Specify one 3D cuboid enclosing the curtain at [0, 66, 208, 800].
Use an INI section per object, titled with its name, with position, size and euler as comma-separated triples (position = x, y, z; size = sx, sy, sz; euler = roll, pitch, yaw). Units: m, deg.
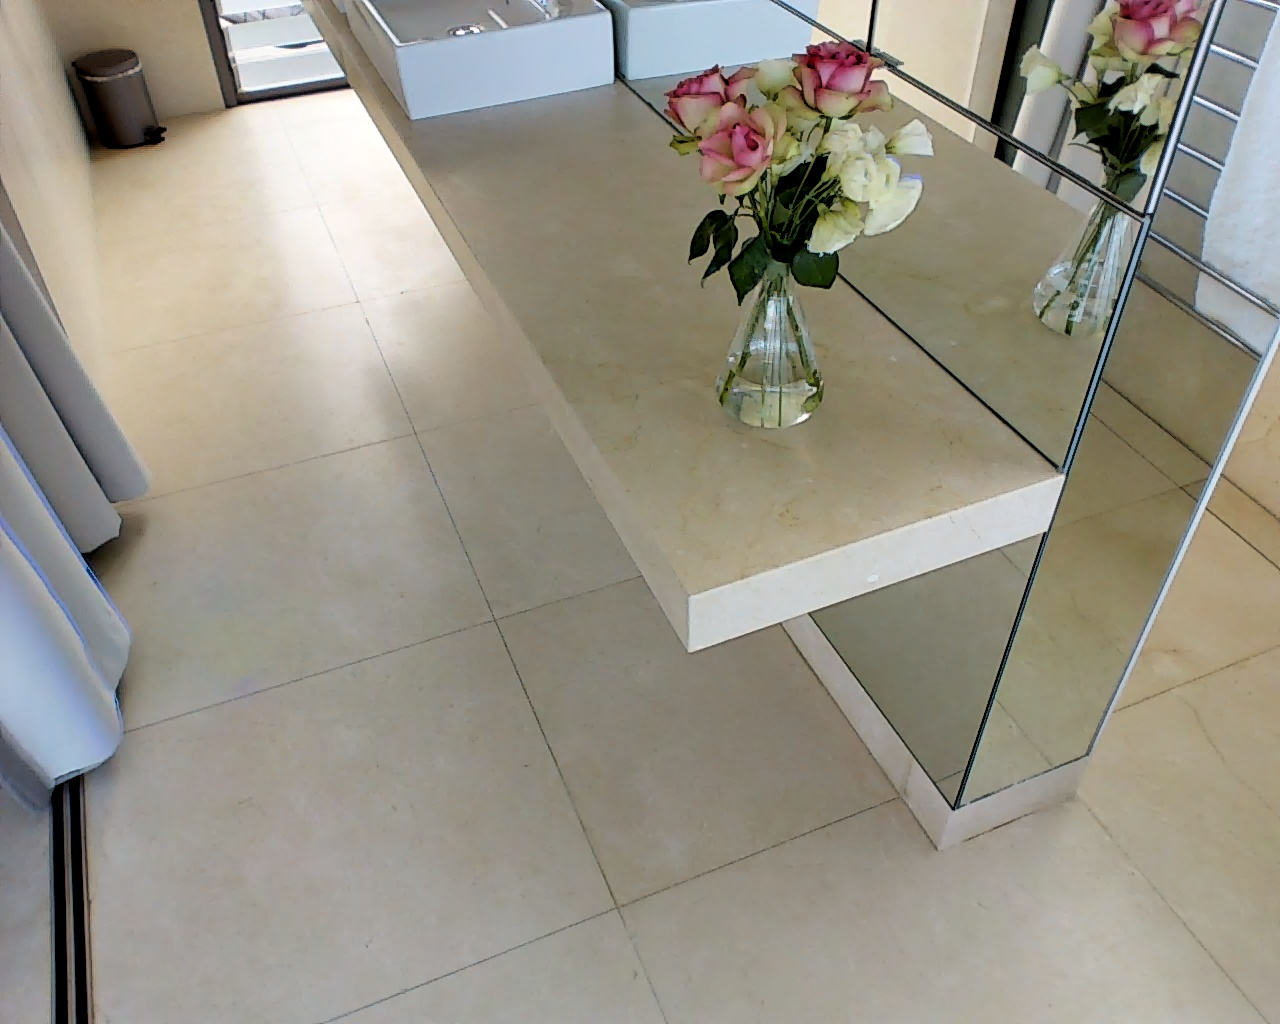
[curtain]
position = -1.010, -0.350, 1.630
size = 0.180, 1.500, 0.830
euler = -16, 43, -16
